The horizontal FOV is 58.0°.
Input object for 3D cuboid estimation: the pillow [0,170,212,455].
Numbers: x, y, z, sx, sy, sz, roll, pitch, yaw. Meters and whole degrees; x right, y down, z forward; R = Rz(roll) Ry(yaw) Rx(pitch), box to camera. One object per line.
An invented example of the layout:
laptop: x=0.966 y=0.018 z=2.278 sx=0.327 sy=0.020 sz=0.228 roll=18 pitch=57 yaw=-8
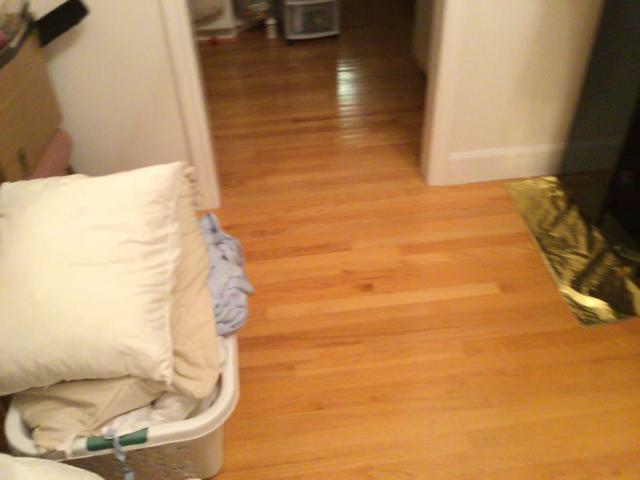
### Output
pillow: x=-0.460 y=0.120 z=1.310 sx=0.370 sy=0.230 sz=0.610 roll=-9 pitch=37 yaw=-2

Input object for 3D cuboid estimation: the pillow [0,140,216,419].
pillow: x=-0.520 y=0.050 z=1.210 sx=0.550 sy=0.180 sz=0.610 roll=-9 pitch=37 yaw=-2
